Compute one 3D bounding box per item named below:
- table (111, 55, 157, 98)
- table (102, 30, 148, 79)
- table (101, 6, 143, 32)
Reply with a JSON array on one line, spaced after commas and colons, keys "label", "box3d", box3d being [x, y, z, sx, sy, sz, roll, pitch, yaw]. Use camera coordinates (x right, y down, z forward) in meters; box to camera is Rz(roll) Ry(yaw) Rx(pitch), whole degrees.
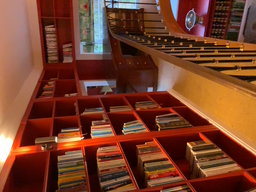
[{"label": "table", "box3d": [0.090, -0.380, 3.890, 0.430, 0.730, 0.680, -132, 41, -65]}, {"label": "table", "box3d": [-0.110, -0.850, 4.460, 0.820, 0.730, 0.620, 116, 147, -60]}, {"label": "table", "box3d": [-0.150, -1.600, 4.440, 0.550, 0.750, 0.440, -132, 41, -65]}]
